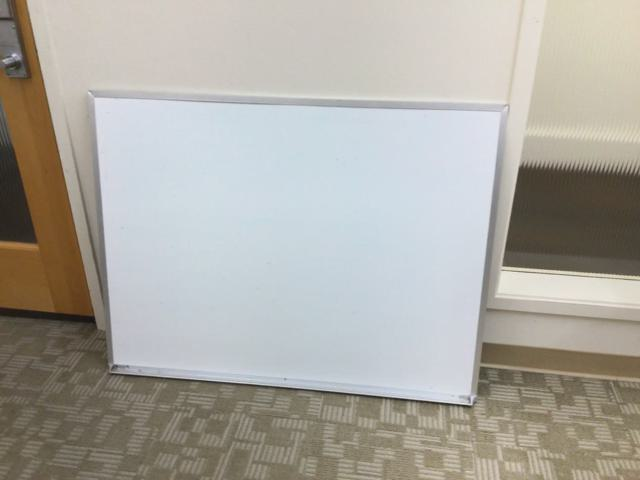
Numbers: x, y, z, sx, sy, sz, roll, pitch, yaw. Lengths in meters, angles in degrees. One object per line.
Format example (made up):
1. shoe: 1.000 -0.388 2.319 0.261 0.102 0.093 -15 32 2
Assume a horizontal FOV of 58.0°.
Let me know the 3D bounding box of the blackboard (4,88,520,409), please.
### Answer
1. blackboard: -0.160 0.030 1.720 1.320 0.910 0.190 2 25 8

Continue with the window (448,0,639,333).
1. window: 0.860 -0.420 1.540 0.910 1.430 0.230 2 25 8
